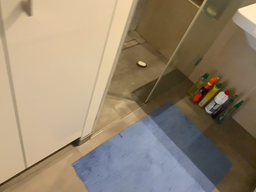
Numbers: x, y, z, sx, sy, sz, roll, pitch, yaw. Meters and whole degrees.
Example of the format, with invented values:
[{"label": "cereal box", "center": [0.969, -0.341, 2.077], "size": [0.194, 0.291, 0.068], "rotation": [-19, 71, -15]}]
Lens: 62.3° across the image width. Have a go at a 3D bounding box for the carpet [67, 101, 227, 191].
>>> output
[{"label": "carpet", "center": [0.200, 0.440, 1.440], "size": [1.020, 0.020, 0.590], "rotation": [-26, 65, -35]}]
